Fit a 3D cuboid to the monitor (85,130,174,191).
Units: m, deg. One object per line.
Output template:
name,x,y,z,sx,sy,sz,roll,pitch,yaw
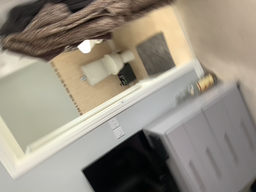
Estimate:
monitor,0.130,0.910,1.880,1.060,0.560,0.070,63,160,-10
